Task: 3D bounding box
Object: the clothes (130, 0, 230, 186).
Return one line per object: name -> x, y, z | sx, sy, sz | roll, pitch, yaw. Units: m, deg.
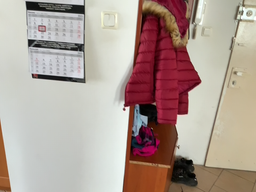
clothes -> 0.250, -0.180, 1.430 | 0.320, 1.090, 0.920 | 6, 21, 2
